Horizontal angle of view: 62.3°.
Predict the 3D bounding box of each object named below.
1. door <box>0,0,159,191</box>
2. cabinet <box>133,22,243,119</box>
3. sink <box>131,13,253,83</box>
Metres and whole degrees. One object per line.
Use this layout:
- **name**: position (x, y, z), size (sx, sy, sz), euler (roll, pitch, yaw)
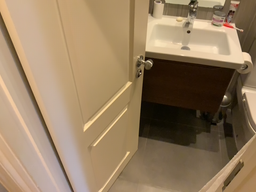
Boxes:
- **door**: position (-0.110, -0.040, 0.790), size (0.050, 1.950, 0.740), euler (27, 50, 23)
- **cabinet**: position (0.390, -0.200, 1.540), size (0.610, 0.420, 0.470), euler (9, 45, 8)
- **sink**: position (0.390, -0.340, 1.390), size (0.660, 0.140, 0.480), euler (9, 45, 8)
